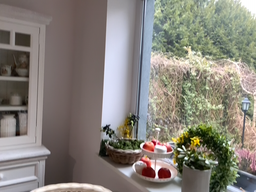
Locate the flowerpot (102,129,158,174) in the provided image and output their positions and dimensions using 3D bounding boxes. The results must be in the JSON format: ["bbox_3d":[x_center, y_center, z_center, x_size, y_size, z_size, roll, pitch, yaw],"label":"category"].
[{"bbox_3d":[0.010,0.420,1.680,0.310,0.230,0.310,1,4,-33],"label":"flowerpot"}]

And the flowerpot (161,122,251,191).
[{"bbox_3d":[0.460,0.400,1.260,0.390,0.420,0.300,1,4,-36],"label":"flowerpot"}]
